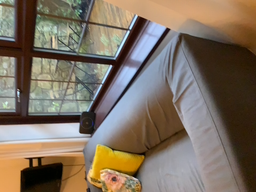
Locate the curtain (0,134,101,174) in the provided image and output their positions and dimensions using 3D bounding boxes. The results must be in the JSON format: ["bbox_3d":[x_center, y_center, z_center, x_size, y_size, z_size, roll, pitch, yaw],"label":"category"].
[{"bbox_3d":[-1.260,0.600,2.060,0.310,1.960,0.250,-52,45,50],"label":"curtain"}]

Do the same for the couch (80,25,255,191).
[{"bbox_3d":[0.230,0.540,1.620,1.840,0.680,0.950,-49,47,52],"label":"couch"}]
